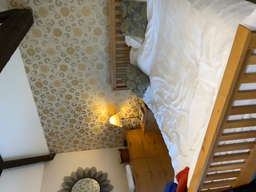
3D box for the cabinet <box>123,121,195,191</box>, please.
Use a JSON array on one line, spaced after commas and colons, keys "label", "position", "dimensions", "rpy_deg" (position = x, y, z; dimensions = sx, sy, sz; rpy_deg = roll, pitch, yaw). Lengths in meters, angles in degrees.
[{"label": "cabinet", "position": [0.430, 1.130, 3.670], "dimensions": [1.360, 0.850, 0.520], "rpy_deg": [-105, 14, -52]}]
